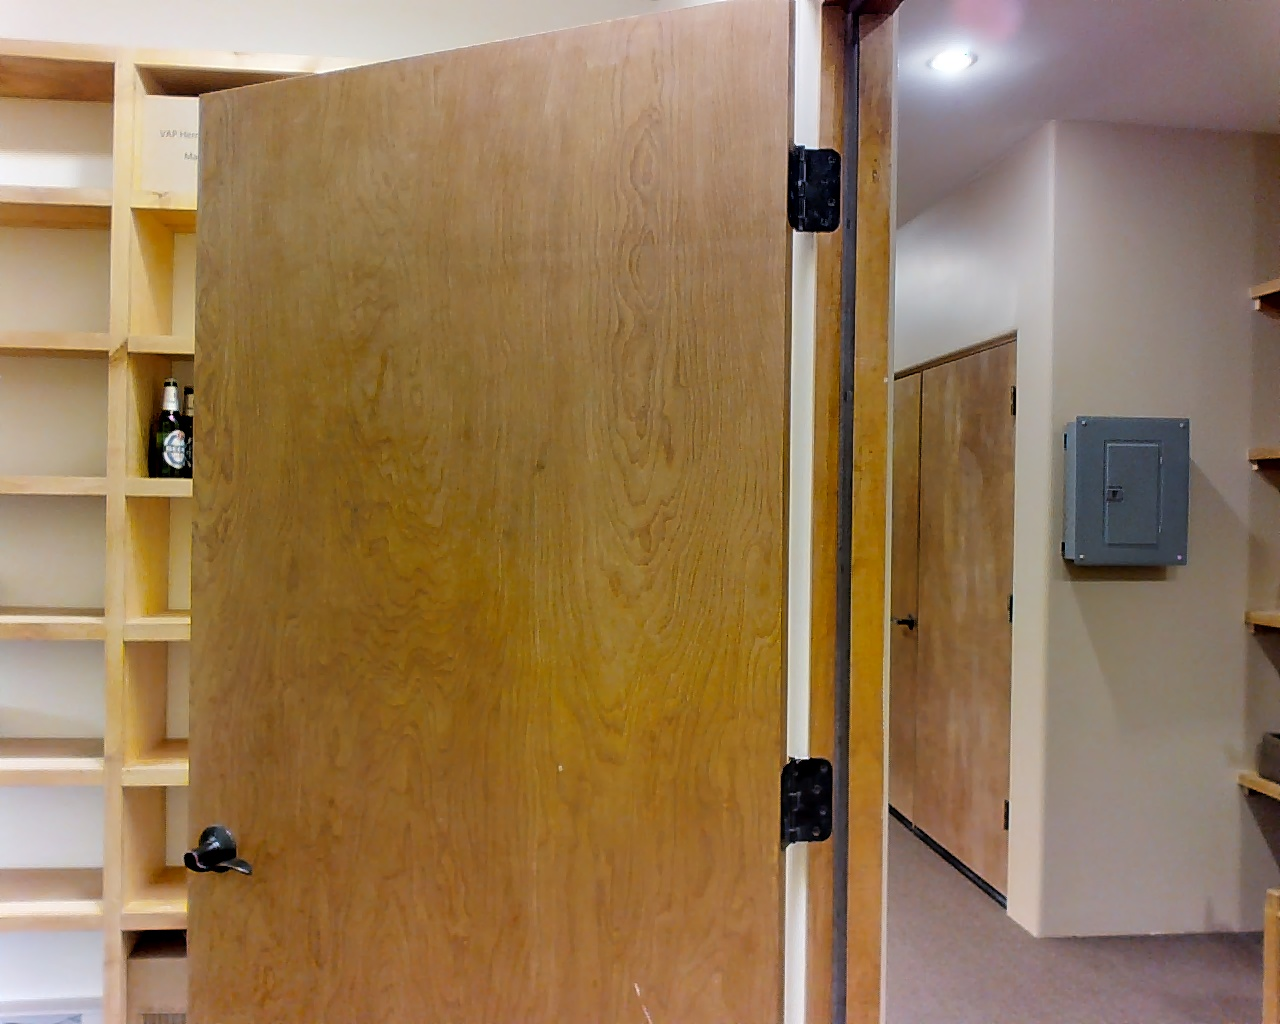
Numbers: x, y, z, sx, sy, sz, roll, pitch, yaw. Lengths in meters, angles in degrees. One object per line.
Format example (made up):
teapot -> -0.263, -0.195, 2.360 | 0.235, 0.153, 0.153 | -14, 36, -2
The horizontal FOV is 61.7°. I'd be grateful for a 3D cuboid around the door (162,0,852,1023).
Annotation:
door -> -0.230, 0.390, 1.400 | 0.960, 2.040, 0.070 | 1, 0, 23
